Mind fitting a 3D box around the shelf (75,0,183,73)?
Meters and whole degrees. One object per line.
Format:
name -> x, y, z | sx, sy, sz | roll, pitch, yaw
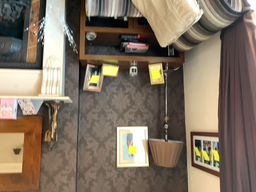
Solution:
shelf -> 0.000, -0.710, 2.010 | 0.910, 0.880, 0.380 | 1, 172, -7
